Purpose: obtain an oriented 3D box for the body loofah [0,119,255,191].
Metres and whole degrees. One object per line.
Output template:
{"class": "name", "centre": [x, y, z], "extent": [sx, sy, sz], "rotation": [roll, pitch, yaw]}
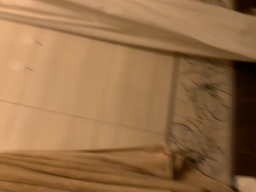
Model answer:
{"class": "body loofah", "centre": [0.050, 0.340, 0.760], "extent": [0.120, 1.030, 0.300], "rotation": [144, 138, -67]}
